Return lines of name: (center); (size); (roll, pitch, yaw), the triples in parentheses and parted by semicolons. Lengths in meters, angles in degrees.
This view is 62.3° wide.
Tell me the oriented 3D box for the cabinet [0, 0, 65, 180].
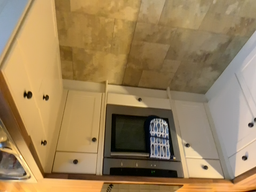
cabinet: (-0.750, -0.150, 1.190); (0.590, 0.920, 1.010); (5, 143, -9)
